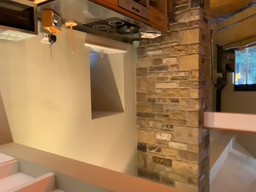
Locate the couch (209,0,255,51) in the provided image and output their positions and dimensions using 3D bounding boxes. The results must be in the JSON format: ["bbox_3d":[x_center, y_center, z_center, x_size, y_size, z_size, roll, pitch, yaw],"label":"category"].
[{"bbox_3d":[2.750,-1.510,4.550,1.120,0.810,1.840,-2,-175,-7],"label":"couch"}]

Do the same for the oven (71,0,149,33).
[{"bbox_3d":[-0.190,-1.150,2.380,0.630,0.670,0.610,2,-175,35],"label":"oven"}]
